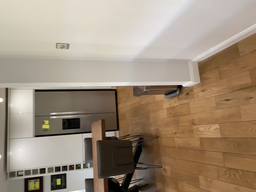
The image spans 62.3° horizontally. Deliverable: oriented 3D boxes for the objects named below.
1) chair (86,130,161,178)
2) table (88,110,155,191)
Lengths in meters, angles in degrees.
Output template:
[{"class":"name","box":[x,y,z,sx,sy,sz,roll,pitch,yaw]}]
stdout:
[{"class":"chair","box":[-0.110,0.830,3.170,0.760,0.880,0.510,147,118,-67]},{"class":"table","box":[-0.140,1.480,3.400,1.000,0.780,2.390,154,114,-69]}]
